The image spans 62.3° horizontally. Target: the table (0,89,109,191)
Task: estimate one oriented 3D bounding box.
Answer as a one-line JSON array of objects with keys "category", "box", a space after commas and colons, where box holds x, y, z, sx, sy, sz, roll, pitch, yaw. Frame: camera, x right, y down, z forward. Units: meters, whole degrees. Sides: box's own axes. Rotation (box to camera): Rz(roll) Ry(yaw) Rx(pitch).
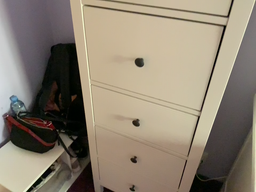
[{"category": "table", "box": [-0.450, 0.330, 1.330, 0.330, 0.360, 0.730, 17, 39, 20]}]
